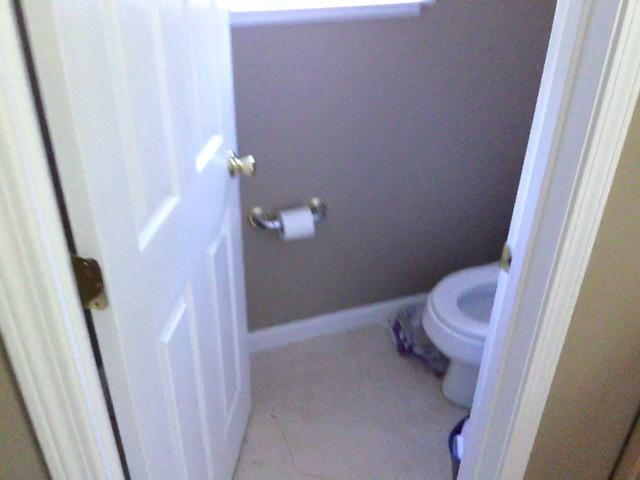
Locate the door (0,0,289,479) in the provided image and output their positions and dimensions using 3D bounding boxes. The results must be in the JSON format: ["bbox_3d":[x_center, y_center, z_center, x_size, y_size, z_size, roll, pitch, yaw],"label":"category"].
[{"bbox_3d":[-0.230,-0.120,1.110,0.190,2.050,0.760,2,29,4],"label":"door"}]
